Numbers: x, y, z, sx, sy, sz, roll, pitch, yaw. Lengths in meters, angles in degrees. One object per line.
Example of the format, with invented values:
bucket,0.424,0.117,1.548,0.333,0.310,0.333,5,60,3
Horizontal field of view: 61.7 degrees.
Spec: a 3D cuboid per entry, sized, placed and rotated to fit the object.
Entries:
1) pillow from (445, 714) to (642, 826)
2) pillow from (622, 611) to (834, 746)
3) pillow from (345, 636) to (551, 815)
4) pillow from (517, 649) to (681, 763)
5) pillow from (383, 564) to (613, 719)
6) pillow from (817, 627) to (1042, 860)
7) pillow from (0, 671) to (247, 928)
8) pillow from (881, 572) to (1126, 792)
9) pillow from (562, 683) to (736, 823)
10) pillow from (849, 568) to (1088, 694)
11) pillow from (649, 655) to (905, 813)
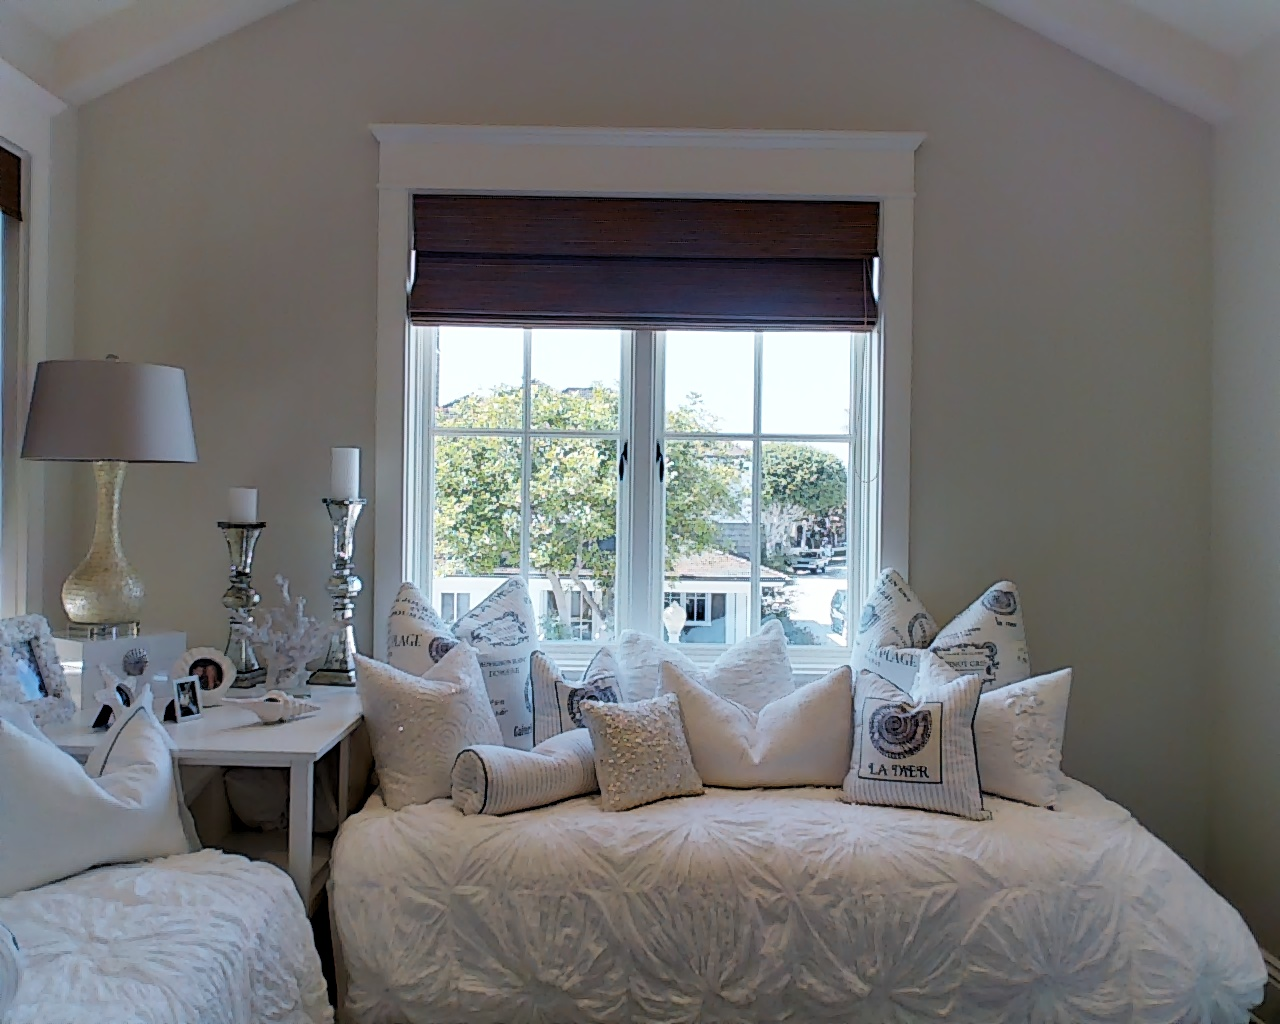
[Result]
pillow,-0.230,0.620,2.630,0.230,0.160,0.440,1,0,42
pillow,0.250,0.480,3.180,0.580,0.320,0.450,1,0,2
pillow,-0.480,0.520,2.720,0.300,0.350,0.420,1,0,36
pillow,-0.120,0.520,2.930,0.400,0.250,0.290,1,0,-12
pillow,-0.420,0.350,3.080,0.550,0.370,0.460,1,0,-22
pillow,0.730,0.570,2.690,0.380,0.410,0.260,28,0,22
pillow,-1.110,0.540,2.120,0.340,0.360,0.520,1,0,39
pillow,1.010,0.460,3.050,0.530,0.550,0.460,1,0,-1
pillow,0.020,0.600,2.730,0.340,0.260,0.290,1,0,-32
pillow,0.950,0.340,3.170,0.580,0.320,0.410,1,0,1
pillow,0.340,0.570,2.810,0.630,0.340,0.320,1,0,1
